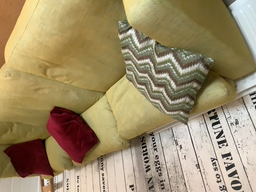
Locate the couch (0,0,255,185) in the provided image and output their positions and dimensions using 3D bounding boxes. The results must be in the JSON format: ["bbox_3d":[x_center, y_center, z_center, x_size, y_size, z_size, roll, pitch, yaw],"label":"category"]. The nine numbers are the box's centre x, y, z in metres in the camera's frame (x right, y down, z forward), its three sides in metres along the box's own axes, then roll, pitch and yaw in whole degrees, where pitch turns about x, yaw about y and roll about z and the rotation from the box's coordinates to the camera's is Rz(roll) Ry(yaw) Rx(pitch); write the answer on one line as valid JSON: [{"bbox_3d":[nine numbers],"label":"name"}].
[{"bbox_3d":[-0.520,0.150,1.820,1.210,0.770,2.700,14,147,-38],"label":"couch"}]
